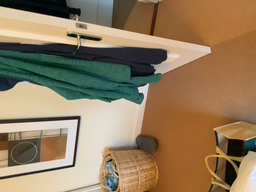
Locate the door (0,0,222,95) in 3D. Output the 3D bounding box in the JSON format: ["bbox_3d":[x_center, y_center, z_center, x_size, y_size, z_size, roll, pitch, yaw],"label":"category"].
[{"bbox_3d":[-0.470,-0.210,1.330,1.000,2.020,0.190,-21,73,54],"label":"door"}]

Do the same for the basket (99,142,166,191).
[{"bbox_3d":[0.030,0.760,2.090,0.400,0.460,0.410,27,112,53],"label":"basket"}]

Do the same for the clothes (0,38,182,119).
[{"bbox_3d":[-0.370,-0.050,1.420,0.670,1.320,0.270,-23,71,54],"label":"clothes"}]
